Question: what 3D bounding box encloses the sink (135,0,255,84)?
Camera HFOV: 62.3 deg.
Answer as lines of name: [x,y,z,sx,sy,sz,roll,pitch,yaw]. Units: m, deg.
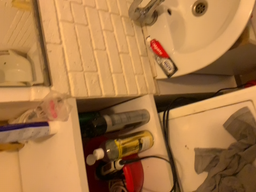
sink: [0.250,-0.340,0.750,0.390,0.200,0.490,-23,76,44]
